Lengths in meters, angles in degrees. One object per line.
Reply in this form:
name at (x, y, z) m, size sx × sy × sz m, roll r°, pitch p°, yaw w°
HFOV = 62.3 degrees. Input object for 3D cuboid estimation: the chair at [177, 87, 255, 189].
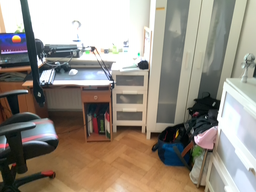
chair at (0.760, 0.360, 1.800) m, size 0.540 × 0.810 × 0.310 m, roll 1°, pitch 24°, yaw 0°

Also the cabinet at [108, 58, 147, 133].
cabinet at (-0.020, -0.010, 2.600) m, size 0.410 × 0.820 × 0.430 m, roll 0°, pitch 24°, yaw -2°

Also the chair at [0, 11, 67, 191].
chair at (-0.920, 0.150, 1.500) m, size 0.730 × 1.370 × 0.660 m, roll -10°, pitch 26°, yaw -24°
